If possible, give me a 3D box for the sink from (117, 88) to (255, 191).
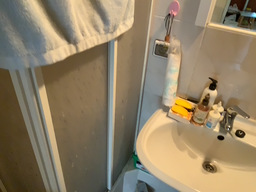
[{"bbox_3d":[0.340,0.270,0.880,0.600,0.220,0.490,20,39,19],"label":"sink"}]
